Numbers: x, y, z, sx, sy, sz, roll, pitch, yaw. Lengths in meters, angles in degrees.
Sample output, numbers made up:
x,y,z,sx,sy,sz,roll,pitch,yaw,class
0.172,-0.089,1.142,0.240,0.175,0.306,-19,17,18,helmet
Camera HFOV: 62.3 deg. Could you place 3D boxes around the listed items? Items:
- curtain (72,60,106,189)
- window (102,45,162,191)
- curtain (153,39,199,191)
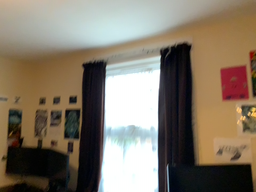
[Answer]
x,y,z,sx,sy,sz,roll,pitch,yaw,class
-0.480,0.320,2.610,0.390,1.480,0.140,-4,-8,32,curtain
0.020,0.330,2.420,0.710,1.730,0.090,-4,-7,31,window
0.440,0.220,2.000,0.350,1.450,0.170,-4,-7,31,curtain
